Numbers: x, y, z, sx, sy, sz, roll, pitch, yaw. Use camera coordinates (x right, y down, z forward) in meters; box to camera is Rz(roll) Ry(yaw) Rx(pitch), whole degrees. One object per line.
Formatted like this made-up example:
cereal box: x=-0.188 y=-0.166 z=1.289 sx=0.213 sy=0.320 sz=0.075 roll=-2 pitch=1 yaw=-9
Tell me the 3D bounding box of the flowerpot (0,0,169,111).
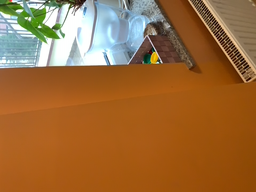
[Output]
flowerpot: x=-0.430 y=-0.370 z=0.920 sx=0.530 sy=0.870 sz=0.660 roll=-51 pitch=55 yaw=47
